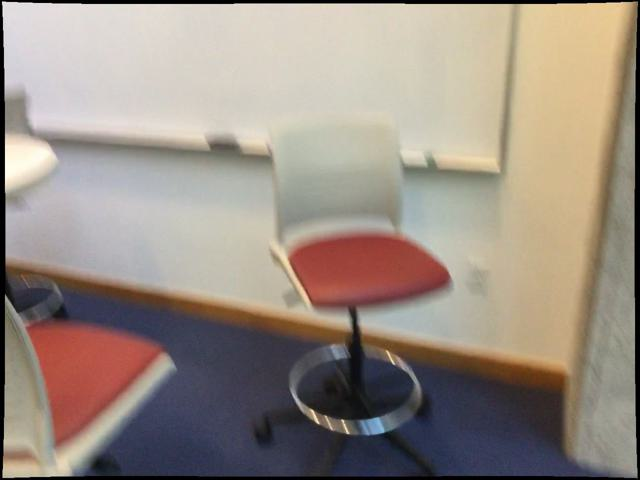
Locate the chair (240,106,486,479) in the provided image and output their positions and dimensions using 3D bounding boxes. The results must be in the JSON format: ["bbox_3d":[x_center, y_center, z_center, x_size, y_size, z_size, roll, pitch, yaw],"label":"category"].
[{"bbox_3d":[0.100,0.180,1.930,0.540,1.091,0.610,-9,25,-15],"label":"chair"}]

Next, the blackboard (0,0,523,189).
[{"bbox_3d":[-0.999,-0.981,2.630,3.637,1.131,0.130,8,26,21],"label":"blackboard"}]
